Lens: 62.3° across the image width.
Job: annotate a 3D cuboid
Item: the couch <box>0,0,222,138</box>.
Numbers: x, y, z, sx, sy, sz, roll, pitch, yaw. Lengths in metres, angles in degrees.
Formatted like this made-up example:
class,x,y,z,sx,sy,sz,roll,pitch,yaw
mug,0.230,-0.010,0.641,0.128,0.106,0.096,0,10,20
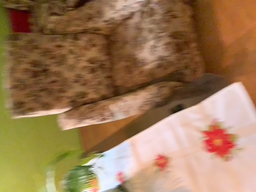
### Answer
class,x,y,z,sx,sy,sz,roll,pitch,yaw
couch,-0.140,-0.220,1.270,0.870,0.930,0.750,-15,81,46
